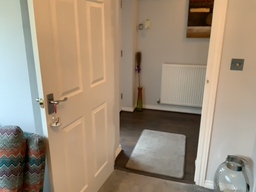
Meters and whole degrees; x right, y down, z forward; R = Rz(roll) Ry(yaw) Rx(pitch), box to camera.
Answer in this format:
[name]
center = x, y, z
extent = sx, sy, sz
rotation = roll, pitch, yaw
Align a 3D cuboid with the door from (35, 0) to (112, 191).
[door]
center = -0.300, -0.030, 1.530
extent = 0.060, 1.960, 0.800
rotation = 7, 18, 17
